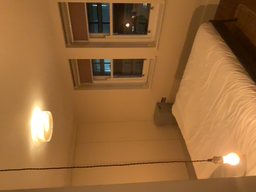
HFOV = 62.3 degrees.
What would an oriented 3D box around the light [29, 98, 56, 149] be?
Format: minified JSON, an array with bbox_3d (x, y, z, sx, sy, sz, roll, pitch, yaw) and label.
[{"bbox_3d":[-0.930,0.280,2.350,0.420,0.140,0.460,-125,35,-81],"label":"light"}]

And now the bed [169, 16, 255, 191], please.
[{"bbox_3d":[1.100,0.330,2.400,1.560,0.550,2.070,94,173,-46],"label":"bed"}]

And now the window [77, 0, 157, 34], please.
[{"bbox_3d":[-0.170,-1.270,3.250,0.090,1.160,0.630,-96,7,-46],"label":"window"}]
